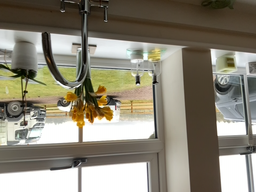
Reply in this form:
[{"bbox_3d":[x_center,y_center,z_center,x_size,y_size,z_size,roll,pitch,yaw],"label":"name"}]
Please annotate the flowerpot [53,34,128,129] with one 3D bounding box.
[{"bbox_3d":[-0.170,-0.050,0.960,0.300,0.380,0.170,1,173,-17],"label":"flowerpot"}]
